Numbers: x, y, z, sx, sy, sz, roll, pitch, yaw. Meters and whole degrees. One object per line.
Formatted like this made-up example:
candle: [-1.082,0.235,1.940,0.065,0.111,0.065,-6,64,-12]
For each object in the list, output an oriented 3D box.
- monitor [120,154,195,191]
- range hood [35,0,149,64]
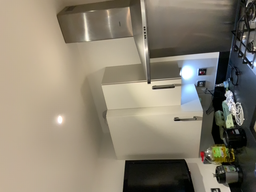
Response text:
monitor: [0.260,0.970,1.850,1.050,0.680,0.050,-85,-11,-52]
range hood: [-0.220,-0.640,1.610,0.460,0.700,0.580,-85,-12,-53]
